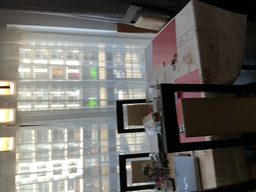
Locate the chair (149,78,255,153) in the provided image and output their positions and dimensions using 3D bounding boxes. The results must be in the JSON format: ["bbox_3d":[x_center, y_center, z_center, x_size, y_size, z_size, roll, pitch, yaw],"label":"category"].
[{"bbox_3d":[0.680,0.110,1.340,0.400,1.000,0.360,155,114,-74],"label":"chair"}]

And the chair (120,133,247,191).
[{"bbox_3d":[0.490,0.570,1.970,0.410,1.050,0.370,153,116,-73],"label":"chair"}]

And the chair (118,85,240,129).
[{"bbox_3d":[0.470,0.110,2.050,0.410,1.050,0.360,149,119,-73],"label":"chair"}]
